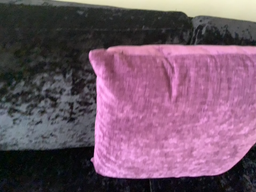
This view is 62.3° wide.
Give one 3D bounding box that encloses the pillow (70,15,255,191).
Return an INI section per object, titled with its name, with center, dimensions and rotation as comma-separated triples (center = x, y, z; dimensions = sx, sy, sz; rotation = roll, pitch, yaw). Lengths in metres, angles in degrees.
[pillow]
center = 0.160, 0.070, 0.580
dimensions = 0.520, 0.510, 0.160
rotation = -5, 45, -5
